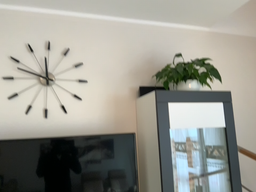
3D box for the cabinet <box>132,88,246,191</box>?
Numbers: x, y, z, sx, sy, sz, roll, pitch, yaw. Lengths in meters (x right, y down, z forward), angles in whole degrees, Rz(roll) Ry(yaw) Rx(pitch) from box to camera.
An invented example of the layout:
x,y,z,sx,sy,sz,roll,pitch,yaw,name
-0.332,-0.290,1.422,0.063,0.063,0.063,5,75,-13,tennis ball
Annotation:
x,y,z,sx,sy,sz,roll,pitch,yaw,name
0.450,0.960,1.520,0.630,1.980,0.450,0,-9,-18,cabinet
